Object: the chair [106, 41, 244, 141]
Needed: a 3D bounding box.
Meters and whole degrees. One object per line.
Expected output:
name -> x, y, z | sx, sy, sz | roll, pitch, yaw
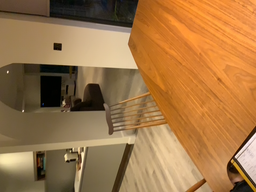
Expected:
chair -> 0.350, -0.050, 1.890 | 0.570, 0.900, 0.590 | -116, 34, -50
